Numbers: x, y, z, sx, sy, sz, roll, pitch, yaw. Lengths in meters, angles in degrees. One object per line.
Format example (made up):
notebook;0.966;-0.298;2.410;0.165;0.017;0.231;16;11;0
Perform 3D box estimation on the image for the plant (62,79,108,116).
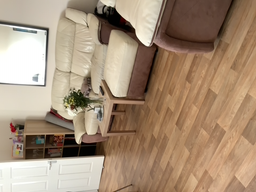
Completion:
plant;-0.530;0.020;2.570;0.330;0.470;0.290;-118;37;-51
